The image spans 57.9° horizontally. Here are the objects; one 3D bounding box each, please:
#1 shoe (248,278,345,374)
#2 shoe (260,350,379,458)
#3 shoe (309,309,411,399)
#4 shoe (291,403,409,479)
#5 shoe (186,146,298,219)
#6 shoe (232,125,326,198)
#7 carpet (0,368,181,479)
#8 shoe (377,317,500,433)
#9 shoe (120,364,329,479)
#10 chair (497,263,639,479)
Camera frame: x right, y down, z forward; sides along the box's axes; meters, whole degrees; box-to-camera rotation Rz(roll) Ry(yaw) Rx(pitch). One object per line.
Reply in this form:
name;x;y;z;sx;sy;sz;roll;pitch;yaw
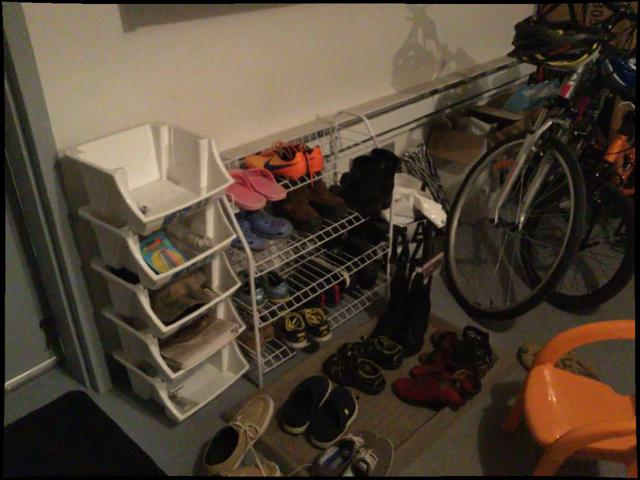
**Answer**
shoe;-0.080;0.280;1.940;0.270;0.150;0.180;27;41;35
shoe;0.000;0.470;1.700;0.230;0.070;0.260;27;41;35
shoe;0.130;0.360;1.870;0.250;0.090;0.220;19;37;27
shoe;0.080;0.581;1.500;0.180;0.110;0.250;27;42;36
shoe;-0.220;-0.170;1.640;0.230;0.070;0.210;27;41;35
shoe;-0.120;-0.240;1.730;0.180;0.110;0.210;27;41;35
carpet;-0.669;0.611;1.510;0.600;0.080;0.370;27;41;35
shoe;0.360;0.400;1.770;0.260;0.120;0.260;27;41;35
shoe;-0.240;0.561;1.530;0.310;0.110;0.440;27;41;35
chair;0.659;0.400;1.410;0.350;0.480;0.420;11;34;17
